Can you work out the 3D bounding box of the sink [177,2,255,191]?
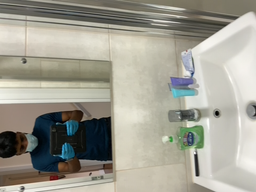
[{"bbox_3d":[0.390,0.050,0.750,0.390,0.200,0.560,155,113,-69],"label":"sink"}]
